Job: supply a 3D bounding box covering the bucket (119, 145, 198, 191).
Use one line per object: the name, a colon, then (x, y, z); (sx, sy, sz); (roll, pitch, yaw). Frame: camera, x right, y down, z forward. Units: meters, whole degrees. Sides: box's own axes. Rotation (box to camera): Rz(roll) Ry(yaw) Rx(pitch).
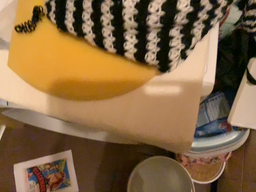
bucket: (0.130, 0.410, 1.030); (0.310, 0.230, 0.260); (12, 72, -1)
